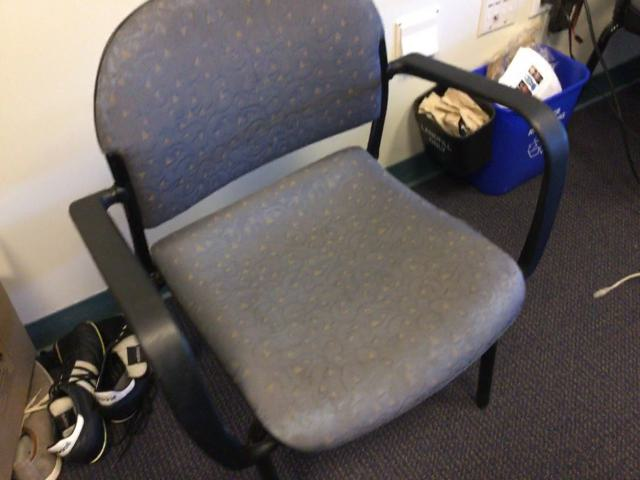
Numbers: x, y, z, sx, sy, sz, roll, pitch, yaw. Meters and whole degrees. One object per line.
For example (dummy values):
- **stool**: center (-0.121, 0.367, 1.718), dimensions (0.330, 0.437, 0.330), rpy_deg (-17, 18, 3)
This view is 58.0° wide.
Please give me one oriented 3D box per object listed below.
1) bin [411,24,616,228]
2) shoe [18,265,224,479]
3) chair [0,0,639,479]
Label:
- **bin**: center (0.470, -0.290, 1.470), dimensions (0.440, 0.330, 0.190), rpy_deg (-25, 48, -16)
- **shoe**: center (-0.420, 0.260, 1.210), dimensions (0.320, 0.120, 0.320), rpy_deg (-25, 48, -16)
- **chair**: center (0.010, -0.080, 0.780), dimensions (0.630, 0.450, 0.510), rpy_deg (-25, 48, -16)
